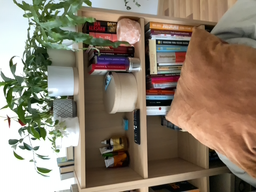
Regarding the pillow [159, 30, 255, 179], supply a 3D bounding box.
[{"bbox_3d":[0.360,0.010,0.880,0.360,0.240,0.480,-128,42,-59],"label":"pillow"}]
